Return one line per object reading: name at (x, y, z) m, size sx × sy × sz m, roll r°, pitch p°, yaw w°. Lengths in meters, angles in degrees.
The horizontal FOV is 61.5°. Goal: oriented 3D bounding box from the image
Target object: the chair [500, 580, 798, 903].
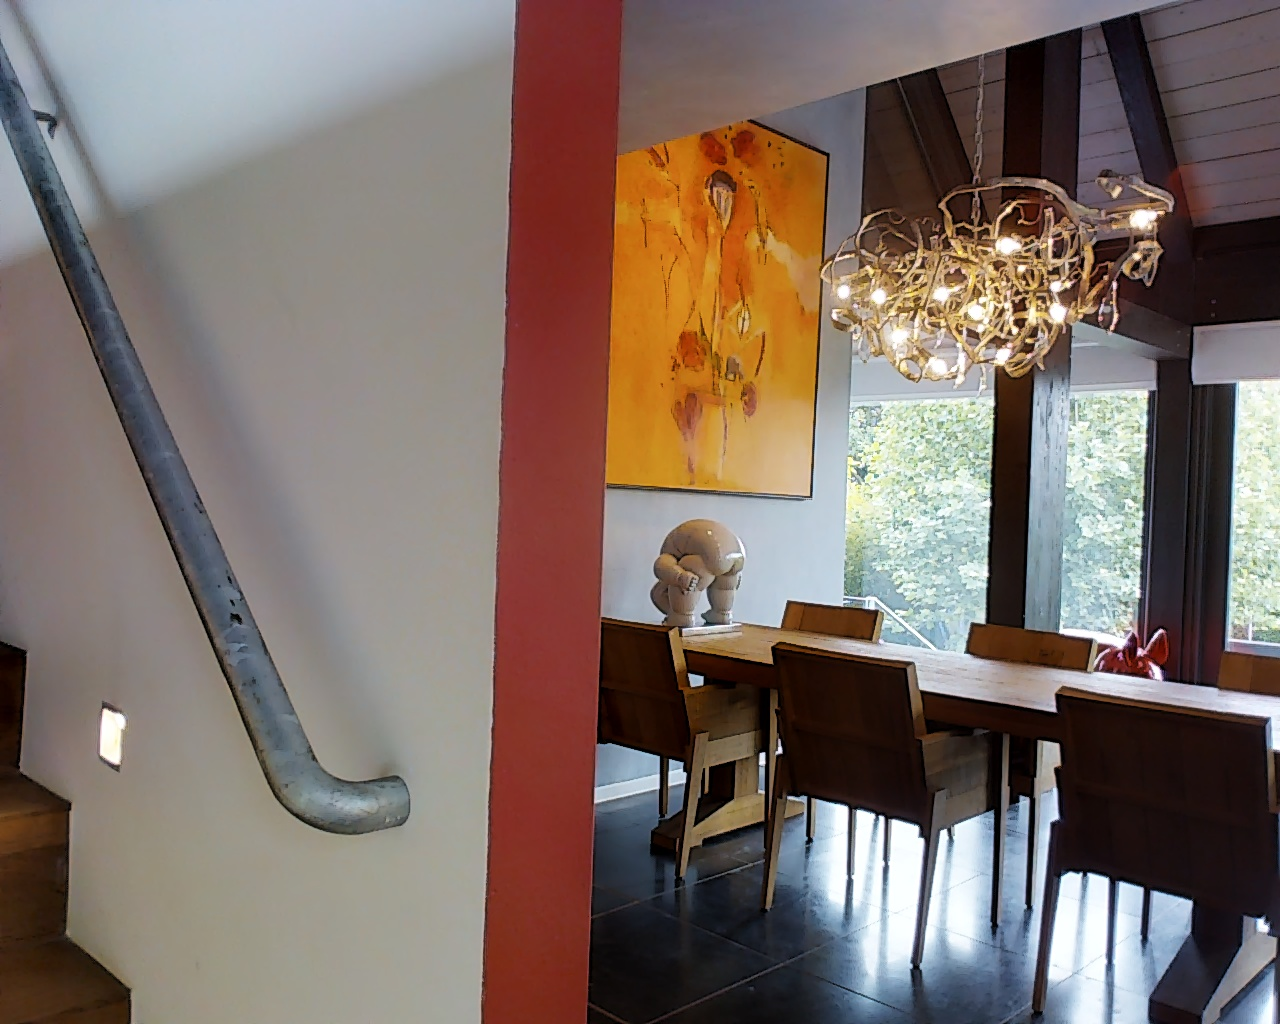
chair at (0.030, 0.740, 3.830) m, size 0.730 × 0.920 × 0.720 m, roll 3°, pitch 1°, yaw 45°
